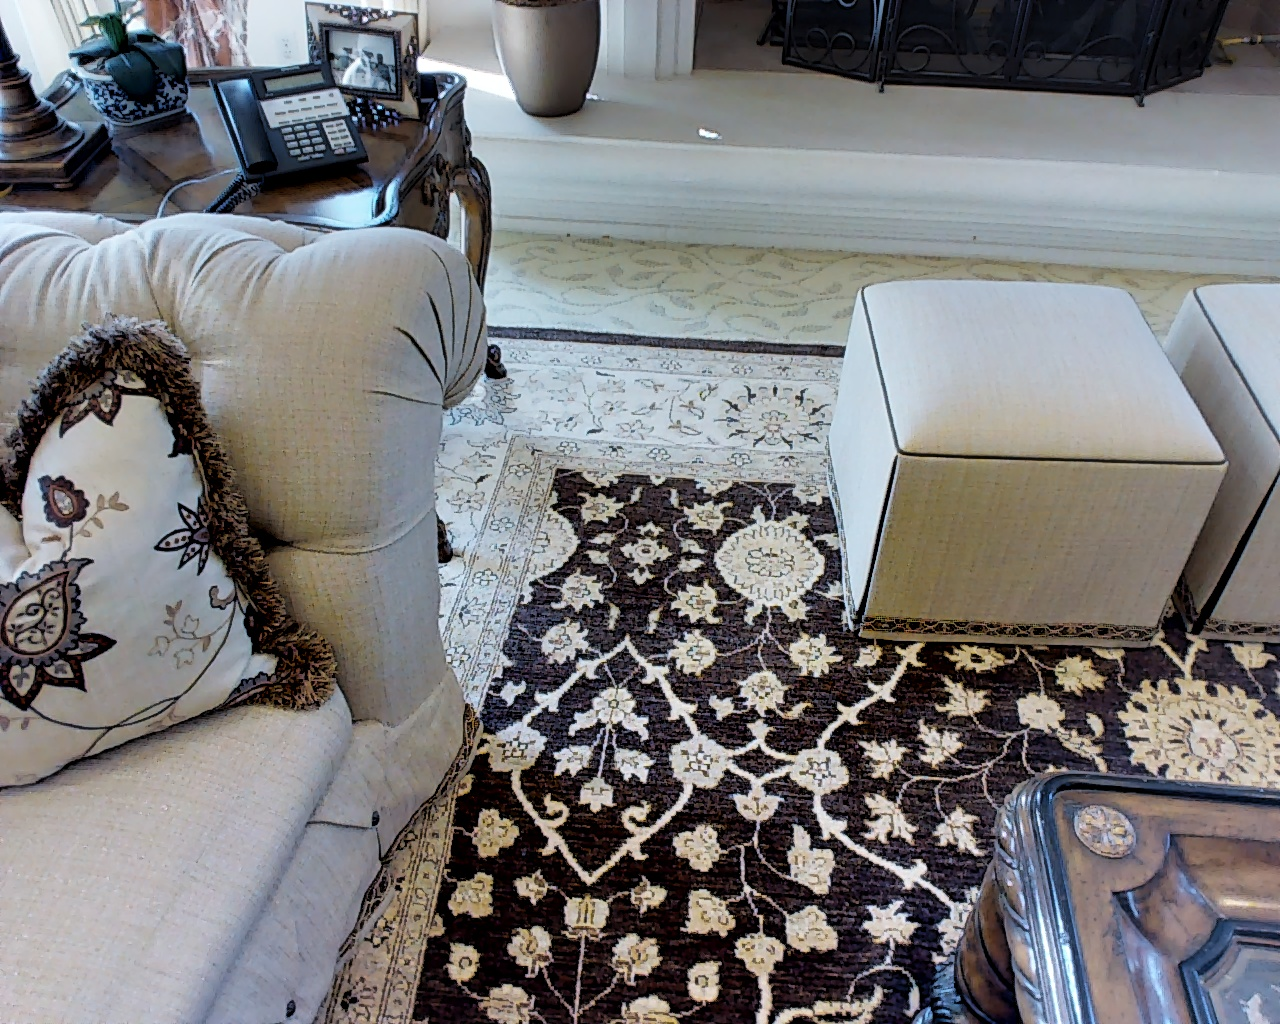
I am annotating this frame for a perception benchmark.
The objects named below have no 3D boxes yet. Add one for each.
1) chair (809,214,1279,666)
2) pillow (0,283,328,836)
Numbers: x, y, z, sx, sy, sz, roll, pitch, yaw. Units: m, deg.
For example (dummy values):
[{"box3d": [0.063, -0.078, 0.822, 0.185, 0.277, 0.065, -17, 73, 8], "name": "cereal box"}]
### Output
[{"box3d": [0.690, -0.150, 1.970, 0.650, 0.520, 0.650, 2, 42, 2], "name": "chair"}, {"box3d": [-0.640, 0.060, 1.120, 0.470, 0.390, 0.330, -18, 45, -20], "name": "pillow"}]
